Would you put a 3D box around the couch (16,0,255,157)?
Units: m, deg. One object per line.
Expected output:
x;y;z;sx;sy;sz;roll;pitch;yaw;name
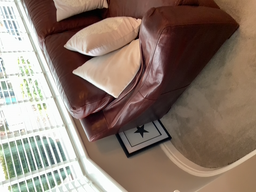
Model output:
-0.210;-0.620;1.570;1.640;0.820;0.980;60;143;26;couch
